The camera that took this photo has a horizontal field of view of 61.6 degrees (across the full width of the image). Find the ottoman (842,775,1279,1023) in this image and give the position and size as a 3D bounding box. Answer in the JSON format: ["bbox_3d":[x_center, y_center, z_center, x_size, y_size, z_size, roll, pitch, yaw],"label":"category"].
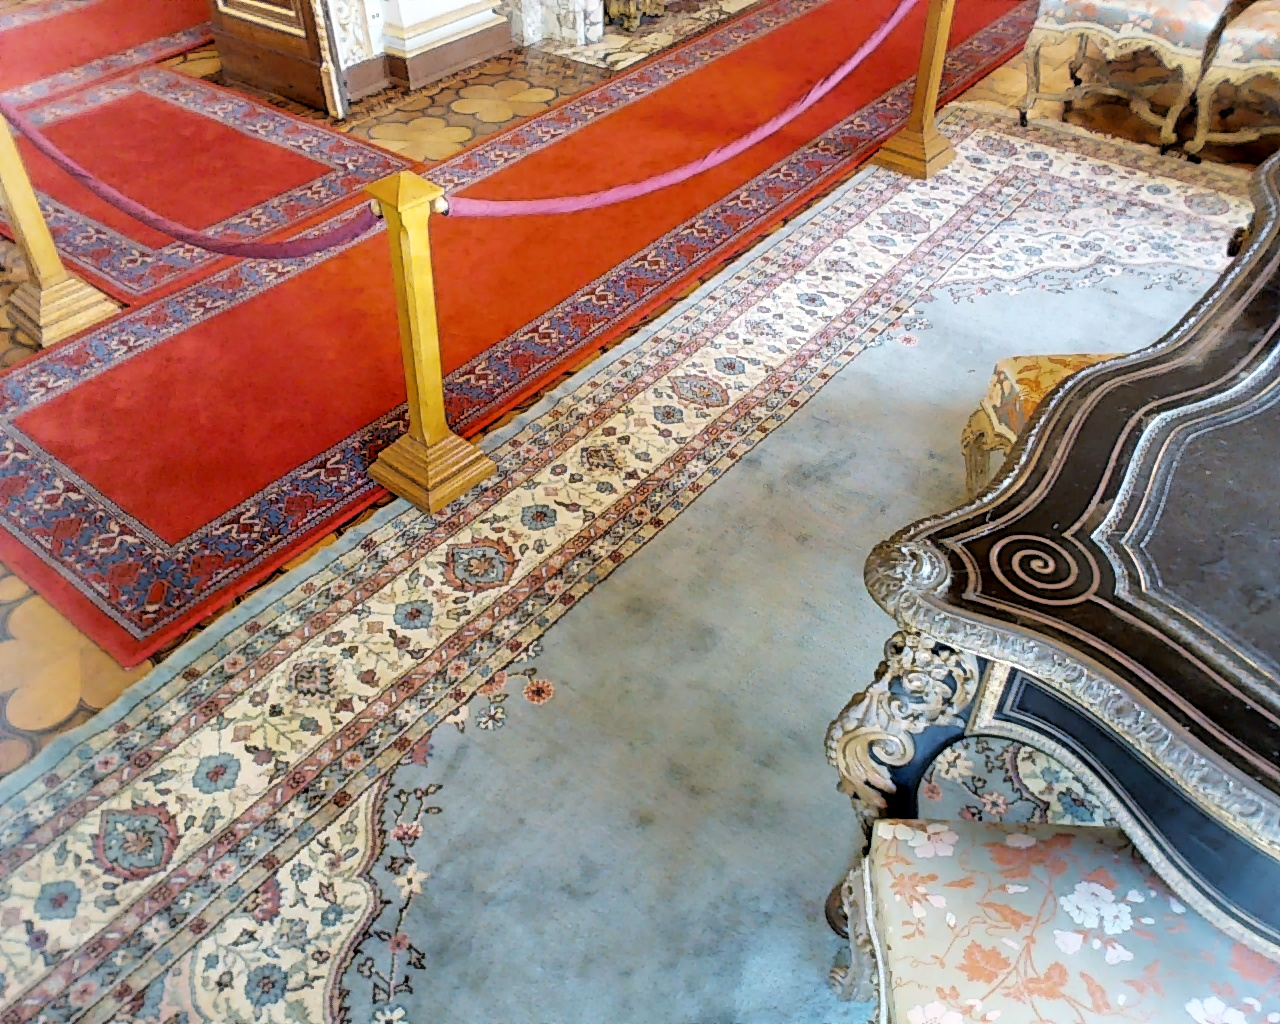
[{"bbox_3d":[0.630,0.740,1.370,0.650,0.550,0.530,3,43,4],"label":"ottoman"}]
